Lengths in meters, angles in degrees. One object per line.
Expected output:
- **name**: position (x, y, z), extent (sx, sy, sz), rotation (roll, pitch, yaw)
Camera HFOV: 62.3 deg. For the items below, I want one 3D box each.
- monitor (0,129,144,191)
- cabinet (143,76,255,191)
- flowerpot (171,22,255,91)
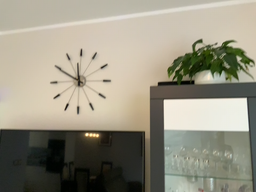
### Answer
- **monitor**: position (-0.500, 0.650, 1.620), extent (1.240, 0.760, 0.100), rotation (-1, -8, 15)
- **cabinet**: position (0.440, 0.920, 1.260), extent (0.630, 2.000, 0.430), rotation (-1, -8, 15)
- **flowerpot**: position (0.560, -0.230, 1.420), extent (0.500, 0.330, 0.350), rotation (-1, -8, 18)
